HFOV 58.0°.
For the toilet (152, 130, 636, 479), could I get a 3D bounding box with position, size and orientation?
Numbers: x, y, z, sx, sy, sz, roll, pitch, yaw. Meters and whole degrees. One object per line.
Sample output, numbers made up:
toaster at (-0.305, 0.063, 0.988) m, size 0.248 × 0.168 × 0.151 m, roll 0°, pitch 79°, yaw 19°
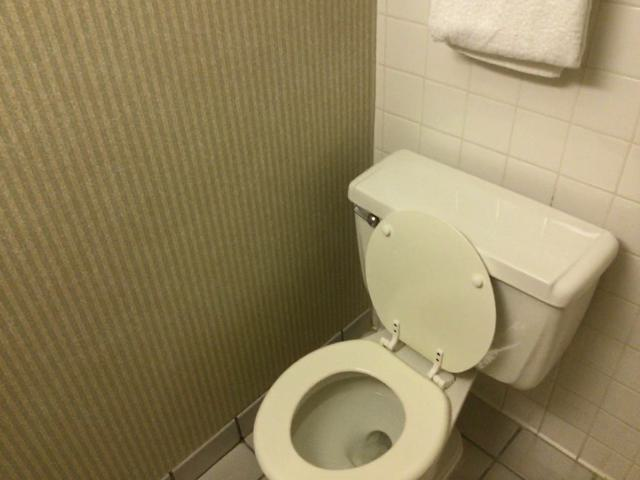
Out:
toilet at (0.160, 0.300, 1.230) m, size 0.530 × 0.740 × 0.680 m, roll 29°, pitch 47°, yaw 35°
